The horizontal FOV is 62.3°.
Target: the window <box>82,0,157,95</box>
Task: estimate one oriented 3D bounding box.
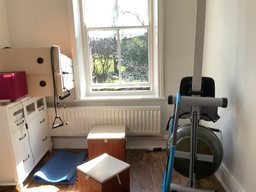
[{"bbox_3d":[-0.100,-0.820,2.950,0.970,1.560,0.240,-2,13,-2],"label":"window"}]

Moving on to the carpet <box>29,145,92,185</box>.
[{"bbox_3d":[-0.750,0.790,2.520,0.530,0.070,0.720,-2,13,-1],"label":"carpet"}]
